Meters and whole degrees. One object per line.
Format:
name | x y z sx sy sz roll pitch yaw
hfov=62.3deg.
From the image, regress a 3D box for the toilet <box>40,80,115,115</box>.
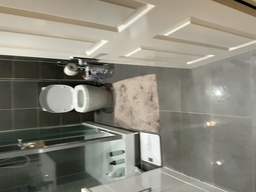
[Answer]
toilet | -0.680 0.010 2.810 0.640 0.780 0.390 0 91 56
